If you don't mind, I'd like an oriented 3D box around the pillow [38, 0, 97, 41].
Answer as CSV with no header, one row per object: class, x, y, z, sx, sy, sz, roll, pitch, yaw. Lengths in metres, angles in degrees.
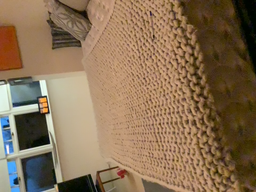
pillow,-0.600,-0.750,2.160,0.380,0.420,0.170,-12,85,26
